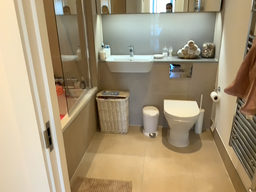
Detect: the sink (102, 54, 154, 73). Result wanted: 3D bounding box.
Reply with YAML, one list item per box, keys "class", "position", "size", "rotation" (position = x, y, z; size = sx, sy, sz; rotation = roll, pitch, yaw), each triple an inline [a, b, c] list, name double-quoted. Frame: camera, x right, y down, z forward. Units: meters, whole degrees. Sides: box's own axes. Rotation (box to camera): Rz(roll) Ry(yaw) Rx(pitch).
- class: "sink"
  position: [0.020, -0.400, 2.570]
  size: [0.570, 0.130, 0.430]
  rotation: [2, 21, 9]

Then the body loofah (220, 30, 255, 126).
- class: "body loofah"
  position: [0.690, -0.120, 1.240]
  size: [0.170, 0.490, 0.310]
  rotation: [3, 21, 11]

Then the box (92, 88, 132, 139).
- class: "box"
  position: [-0.180, 0.210, 2.610]
  size: [0.410, 0.530, 0.290]
  rotation: [2, 21, 9]
